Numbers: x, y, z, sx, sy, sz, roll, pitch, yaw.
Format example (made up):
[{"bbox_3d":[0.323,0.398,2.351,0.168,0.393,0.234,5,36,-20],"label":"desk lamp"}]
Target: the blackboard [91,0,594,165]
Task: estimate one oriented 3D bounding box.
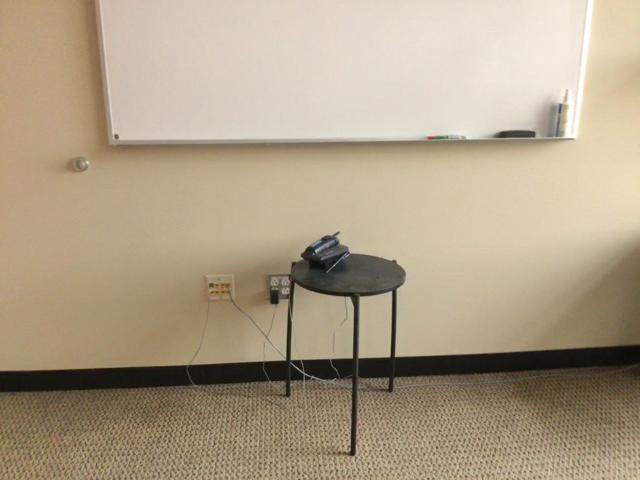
[{"bbox_3d":[0.080,-0.950,2.070,1.730,1.260,0.200,-3,9,-1],"label":"blackboard"}]
